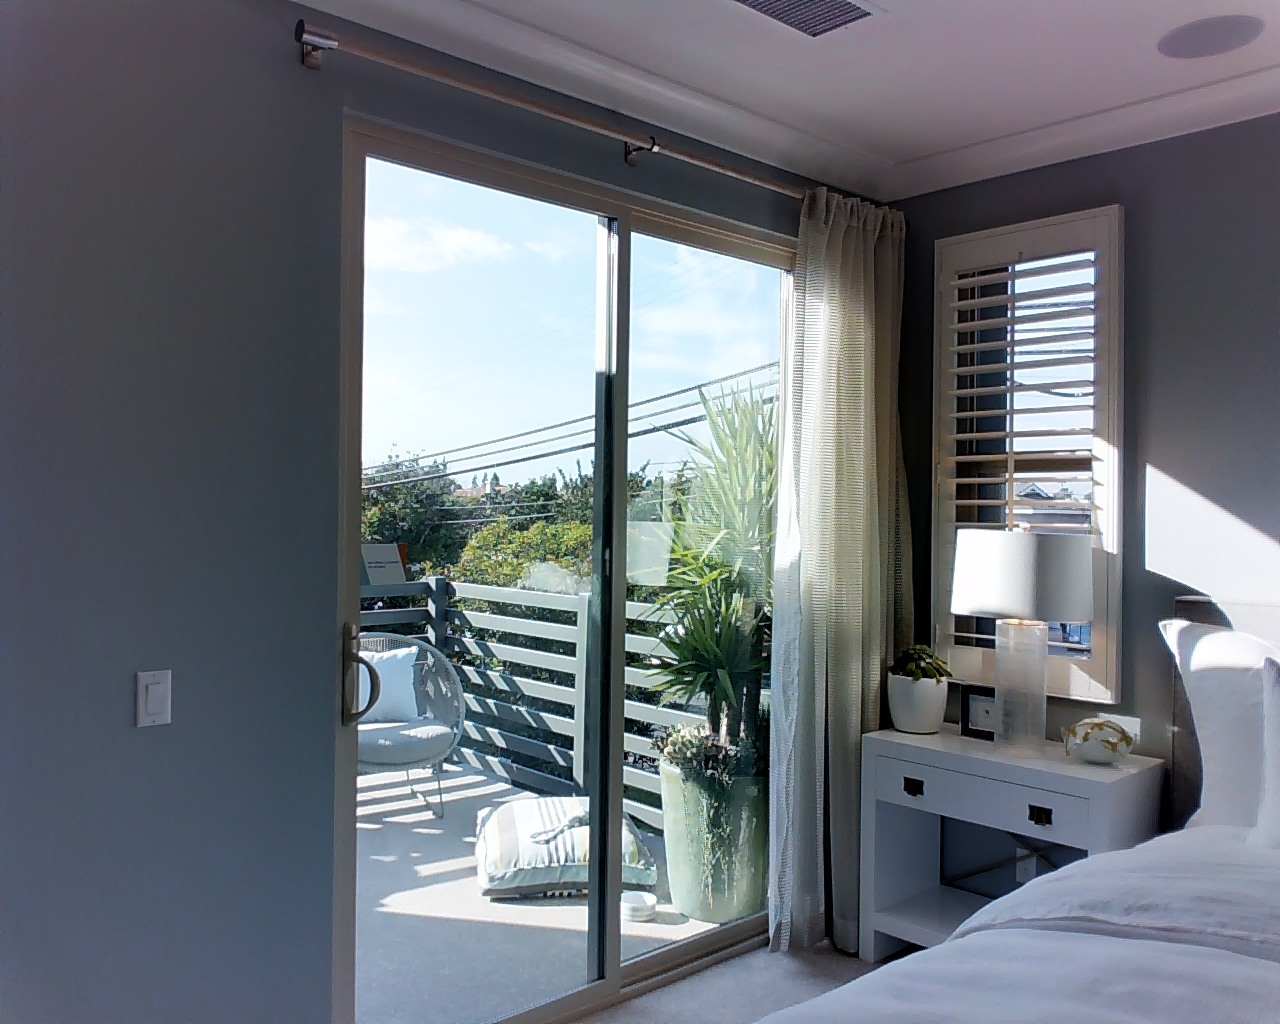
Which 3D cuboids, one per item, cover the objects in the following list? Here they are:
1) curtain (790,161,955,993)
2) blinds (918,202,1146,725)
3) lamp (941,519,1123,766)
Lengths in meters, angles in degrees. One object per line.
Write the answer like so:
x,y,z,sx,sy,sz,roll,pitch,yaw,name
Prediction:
0.800,0.200,3.630,0.610,2.591,0.220,2,-1,-44,curtain
1.289,-0.150,3.590,0.130,1.601,0.730,2,-1,-42,blinds
1.199,0.370,3.280,0.420,0.690,0.350,0,-1,41,lamp
